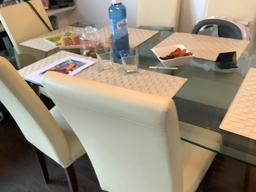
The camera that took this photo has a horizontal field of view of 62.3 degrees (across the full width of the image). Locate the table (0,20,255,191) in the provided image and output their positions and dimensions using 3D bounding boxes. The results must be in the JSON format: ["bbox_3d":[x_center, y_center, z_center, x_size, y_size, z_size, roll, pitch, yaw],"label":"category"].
[{"bbox_3d":[0.120,0.090,1.380,1.680,0.760,0.990,18,40,31],"label":"table"}]
